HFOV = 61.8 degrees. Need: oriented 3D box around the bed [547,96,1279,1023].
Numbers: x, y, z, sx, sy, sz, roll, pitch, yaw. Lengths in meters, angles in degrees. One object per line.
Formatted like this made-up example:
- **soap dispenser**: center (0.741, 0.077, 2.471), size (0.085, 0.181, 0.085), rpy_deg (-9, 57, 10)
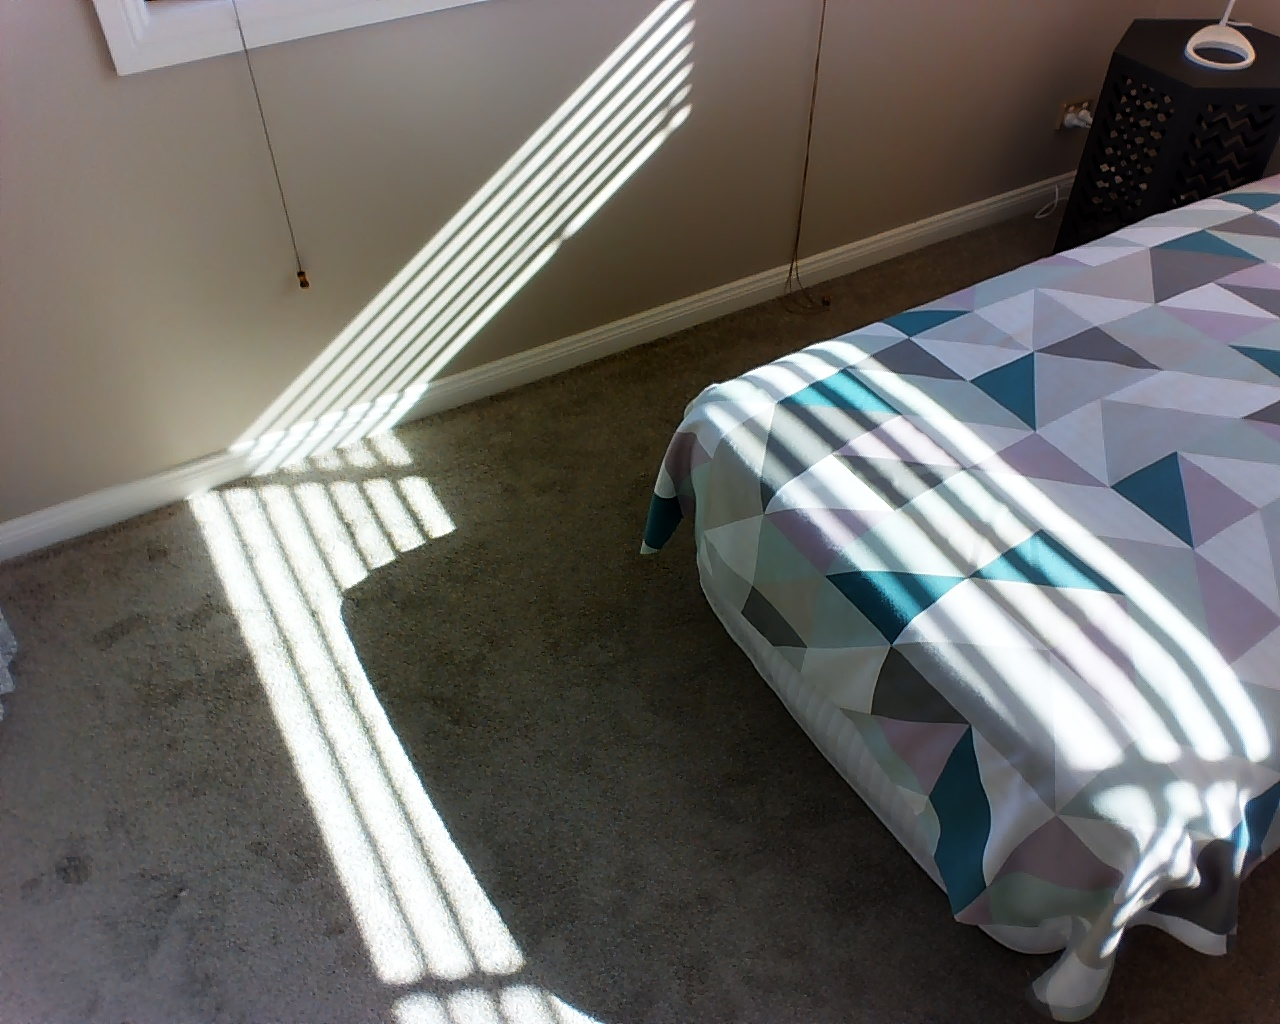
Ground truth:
- **bed**: center (1.060, -0.090, 1.960), size (2.070, 0.490, 1.280), rpy_deg (-23, 49, -23)
